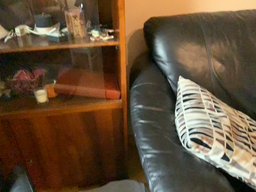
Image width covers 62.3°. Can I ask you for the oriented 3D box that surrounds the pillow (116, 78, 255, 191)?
[{"bbox_3d":[0.340,0.150,0.870,0.650,0.170,0.410,17,34,28],"label":"pillow"}]
